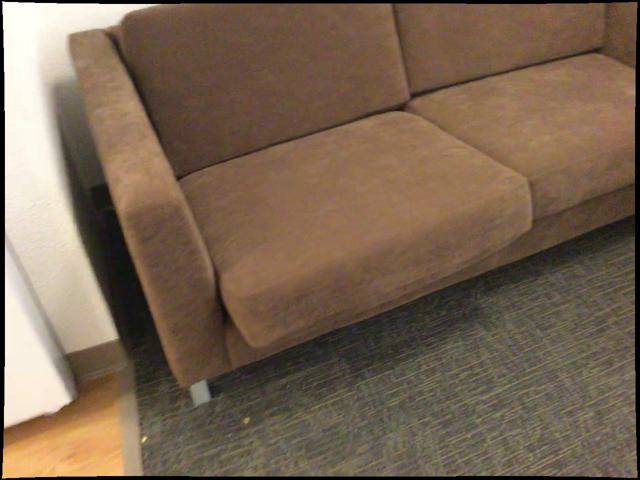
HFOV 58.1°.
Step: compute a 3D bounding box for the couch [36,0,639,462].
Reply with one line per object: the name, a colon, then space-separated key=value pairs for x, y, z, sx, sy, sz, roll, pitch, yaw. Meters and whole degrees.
couch: x=0.299 y=-0.351 z=1.600 sx=1.747 sy=0.861 sz=0.951 roll=-18 pitch=47 yaw=-15
